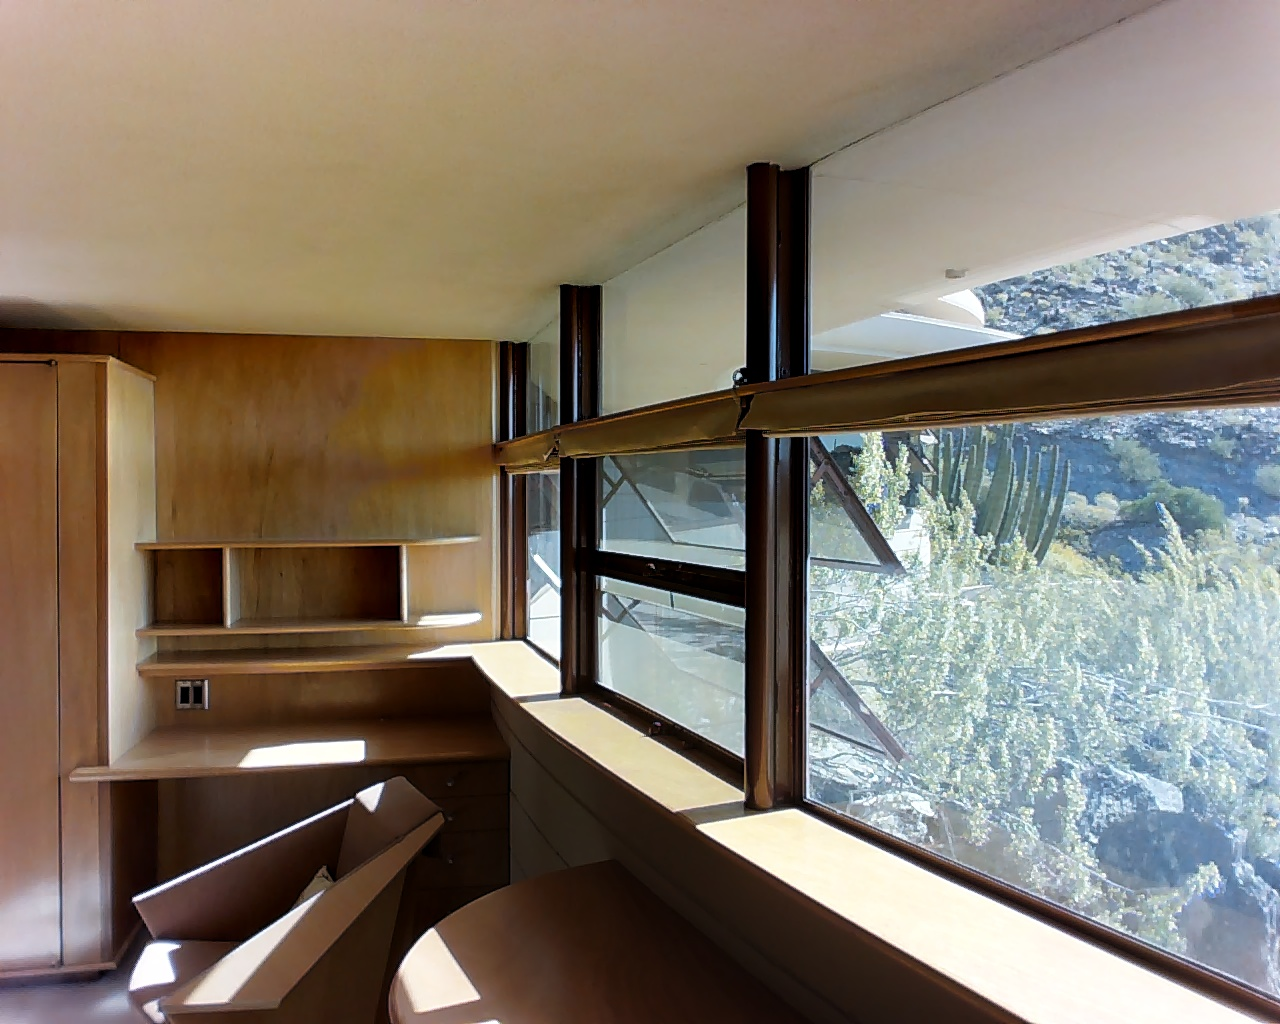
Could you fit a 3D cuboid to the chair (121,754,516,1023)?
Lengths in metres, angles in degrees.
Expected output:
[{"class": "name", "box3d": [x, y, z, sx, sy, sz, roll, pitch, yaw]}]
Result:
[{"class": "chair", "box3d": [-0.890, 1.170, 2.870, 0.850, 0.760, 0.840, -1, 1, -29]}]
